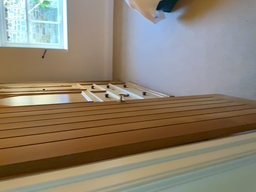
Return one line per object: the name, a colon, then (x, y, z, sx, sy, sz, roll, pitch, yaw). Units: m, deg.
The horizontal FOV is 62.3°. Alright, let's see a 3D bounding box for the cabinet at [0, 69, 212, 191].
cabinet: (-0.710, 0.110, 2.690, 2.420, 2.170, 0.610, 28, 118, 61)
